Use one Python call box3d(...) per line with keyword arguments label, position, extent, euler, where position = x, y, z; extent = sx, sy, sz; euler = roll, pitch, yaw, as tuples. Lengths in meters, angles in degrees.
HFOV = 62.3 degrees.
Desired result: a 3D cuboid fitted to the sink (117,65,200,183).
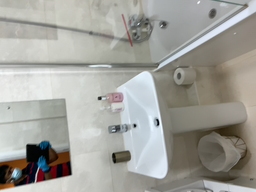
box3d(label="sink", position=(0.140, 0.160, 1.240), extent=(0.440, 0.190, 0.560), euler=(-26, 70, 63))
